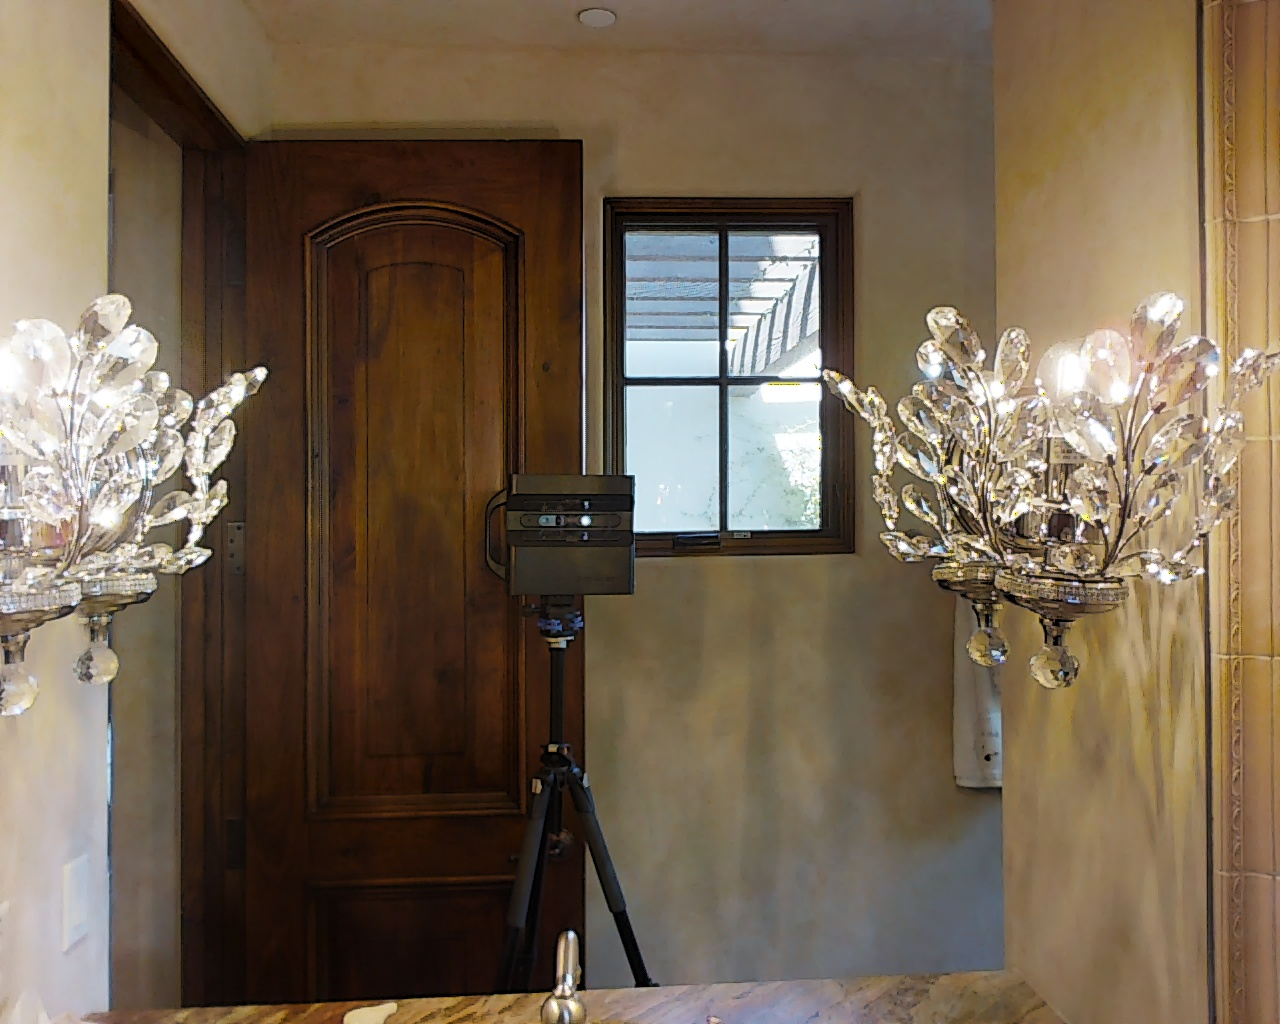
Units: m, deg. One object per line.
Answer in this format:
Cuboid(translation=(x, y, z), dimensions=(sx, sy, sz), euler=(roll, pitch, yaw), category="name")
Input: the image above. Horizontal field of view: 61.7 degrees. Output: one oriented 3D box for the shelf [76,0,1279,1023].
Cuboid(translation=(0.590, 0.220, 2.010), dimensions=(2.820, 2.700, 0.770), euler=(-1, 0, -5), category="shelf")
